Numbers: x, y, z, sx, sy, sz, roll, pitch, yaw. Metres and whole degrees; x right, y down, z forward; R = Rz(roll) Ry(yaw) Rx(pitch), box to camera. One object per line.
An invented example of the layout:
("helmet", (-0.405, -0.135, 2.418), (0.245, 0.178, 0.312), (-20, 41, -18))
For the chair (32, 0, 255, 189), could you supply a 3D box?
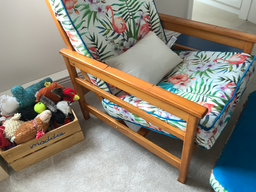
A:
("chair", (0.110, -0.230, 1.110), (0.900, 0.880, 0.620), (28, 52, 31))
